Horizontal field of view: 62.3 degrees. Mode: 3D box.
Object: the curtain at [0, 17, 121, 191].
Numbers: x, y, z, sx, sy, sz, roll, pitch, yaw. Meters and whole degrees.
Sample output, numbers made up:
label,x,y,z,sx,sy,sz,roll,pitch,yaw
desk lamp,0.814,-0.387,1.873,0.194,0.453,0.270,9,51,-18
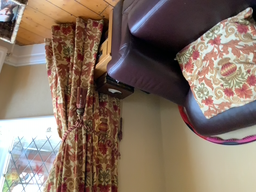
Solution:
label,x,y,z,sx,sy,sz,roll,pitch,yaw
curtain,-0.440,0.680,1.350,0.740,2.800,0.250,-4,154,8
